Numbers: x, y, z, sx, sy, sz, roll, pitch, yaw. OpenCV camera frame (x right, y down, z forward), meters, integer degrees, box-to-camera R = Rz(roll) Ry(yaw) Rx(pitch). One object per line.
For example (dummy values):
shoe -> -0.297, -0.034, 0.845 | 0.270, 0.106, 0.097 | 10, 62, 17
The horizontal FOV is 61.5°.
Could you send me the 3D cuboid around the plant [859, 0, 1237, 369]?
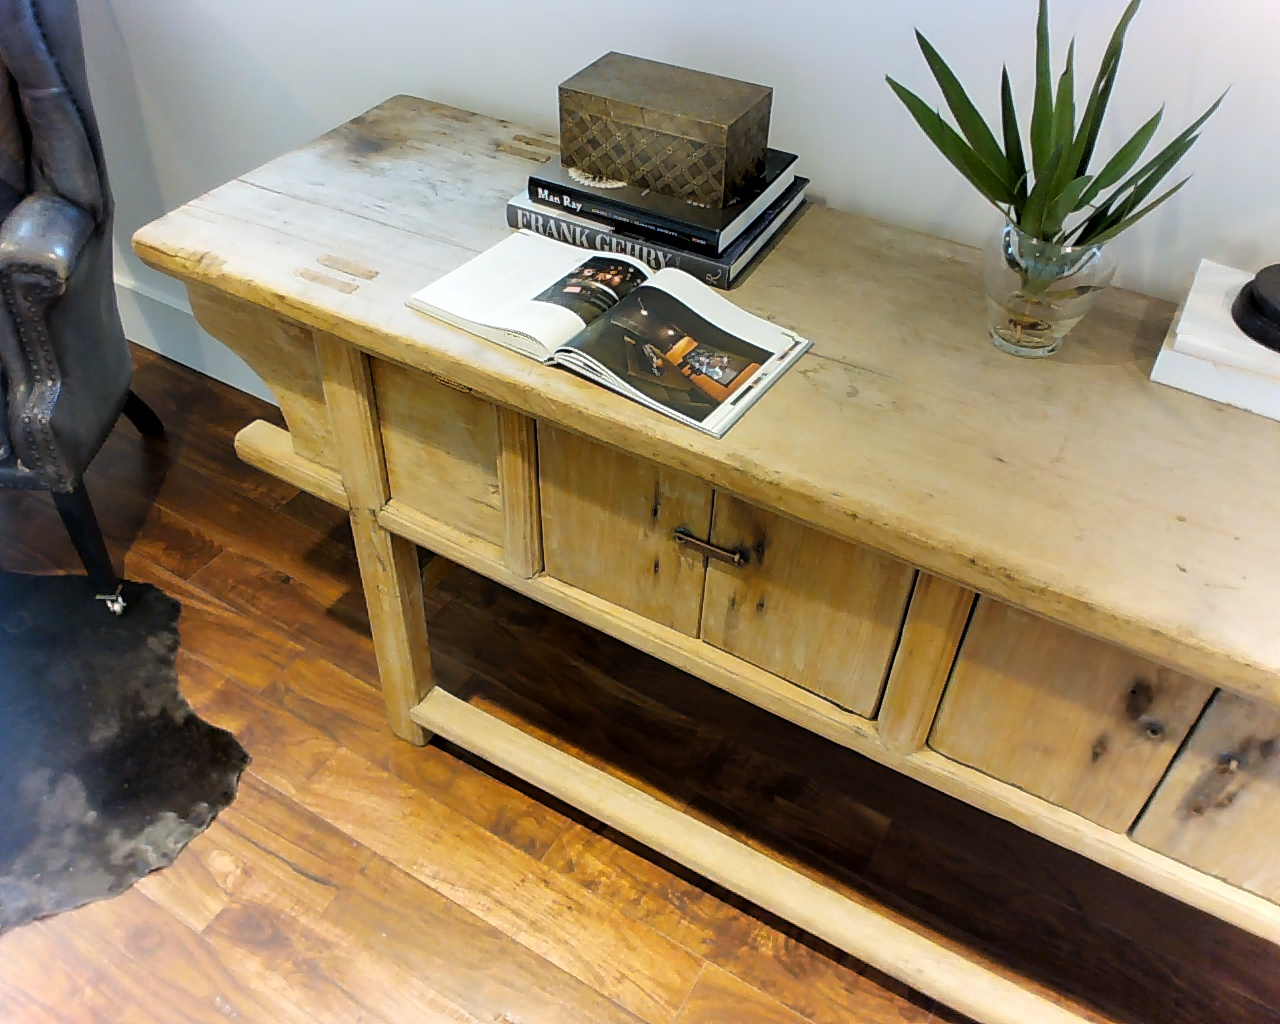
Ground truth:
plant -> 0.410, -0.360, 1.130 | 0.270, 0.320, 0.150 | 22, 47, 20
